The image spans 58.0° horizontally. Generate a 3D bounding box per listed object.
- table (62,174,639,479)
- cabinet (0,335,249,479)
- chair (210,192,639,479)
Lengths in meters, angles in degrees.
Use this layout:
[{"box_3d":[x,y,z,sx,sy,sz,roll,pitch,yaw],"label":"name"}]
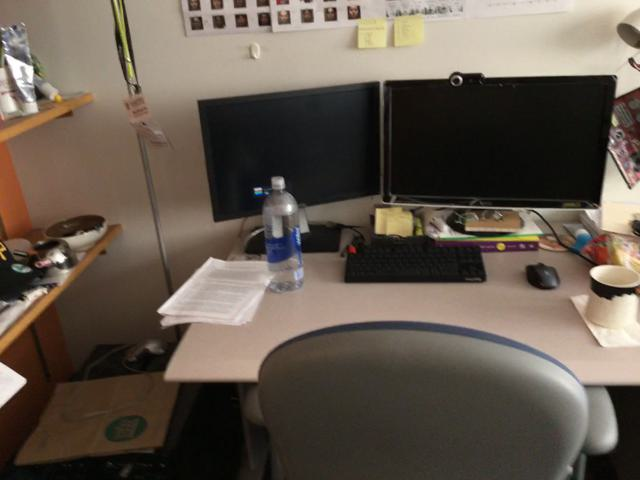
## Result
[{"box_3d":[0.430,0.410,1.490,1.620,0.870,0.870,-3,24,8],"label":"table"},{"box_3d":[-0.510,0.620,1.580,0.450,0.470,0.560,-3,24,8],"label":"cabinet"},{"box_3d":[0.240,0.480,1.120,0.610,1.000,0.500,-3,24,8],"label":"chair"}]
